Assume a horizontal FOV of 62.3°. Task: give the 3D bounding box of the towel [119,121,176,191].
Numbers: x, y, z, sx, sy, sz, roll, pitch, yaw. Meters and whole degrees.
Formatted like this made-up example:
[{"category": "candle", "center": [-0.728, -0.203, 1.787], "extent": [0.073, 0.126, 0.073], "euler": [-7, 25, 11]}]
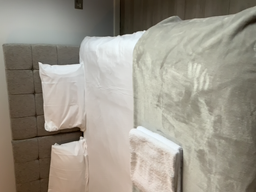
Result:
[{"category": "towel", "center": [0.080, 0.370, 1.090], "extent": [0.410, 0.070, 0.400], "euler": [11, 104, 61]}]
